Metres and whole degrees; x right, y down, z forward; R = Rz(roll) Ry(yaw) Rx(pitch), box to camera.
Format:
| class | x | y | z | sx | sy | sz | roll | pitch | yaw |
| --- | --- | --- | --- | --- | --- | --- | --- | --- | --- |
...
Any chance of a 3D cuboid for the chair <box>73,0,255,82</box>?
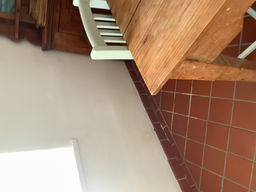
| class | x | y | z | sx | sy | sz | roll | pitch | yaw |
| --- | --- | --- | --- | --- | --- | --- | --- | --- | --- |
| chair | 0.270 | -0.410 | 0.910 | 0.460 | 0.840 | 0.450 | -54 | 46 | 41 |
